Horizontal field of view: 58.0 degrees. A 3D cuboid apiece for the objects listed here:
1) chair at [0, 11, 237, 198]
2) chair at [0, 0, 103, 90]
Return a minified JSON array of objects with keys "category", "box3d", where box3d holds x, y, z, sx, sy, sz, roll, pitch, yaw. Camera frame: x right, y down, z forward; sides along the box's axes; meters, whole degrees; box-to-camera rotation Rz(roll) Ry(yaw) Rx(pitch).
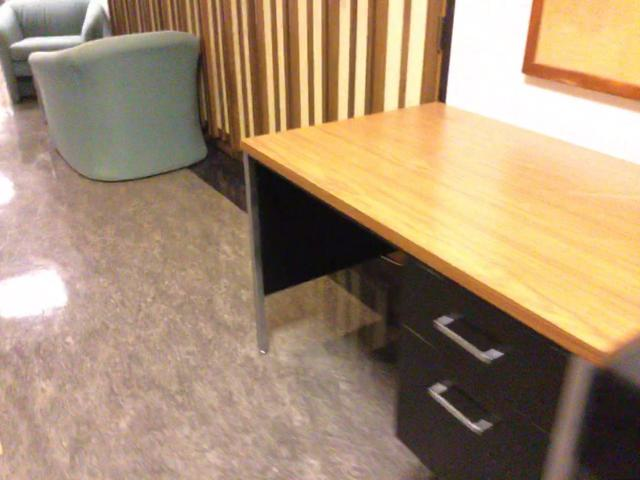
[{"category":"chair","box3d":[-1.190,-0.880,3.440,0.940,0.780,1.010,-21,34,-36]},{"category":"chair","box3d":[-2.400,-1.790,4.730,0.900,0.870,0.950,-13,30,-25]}]
